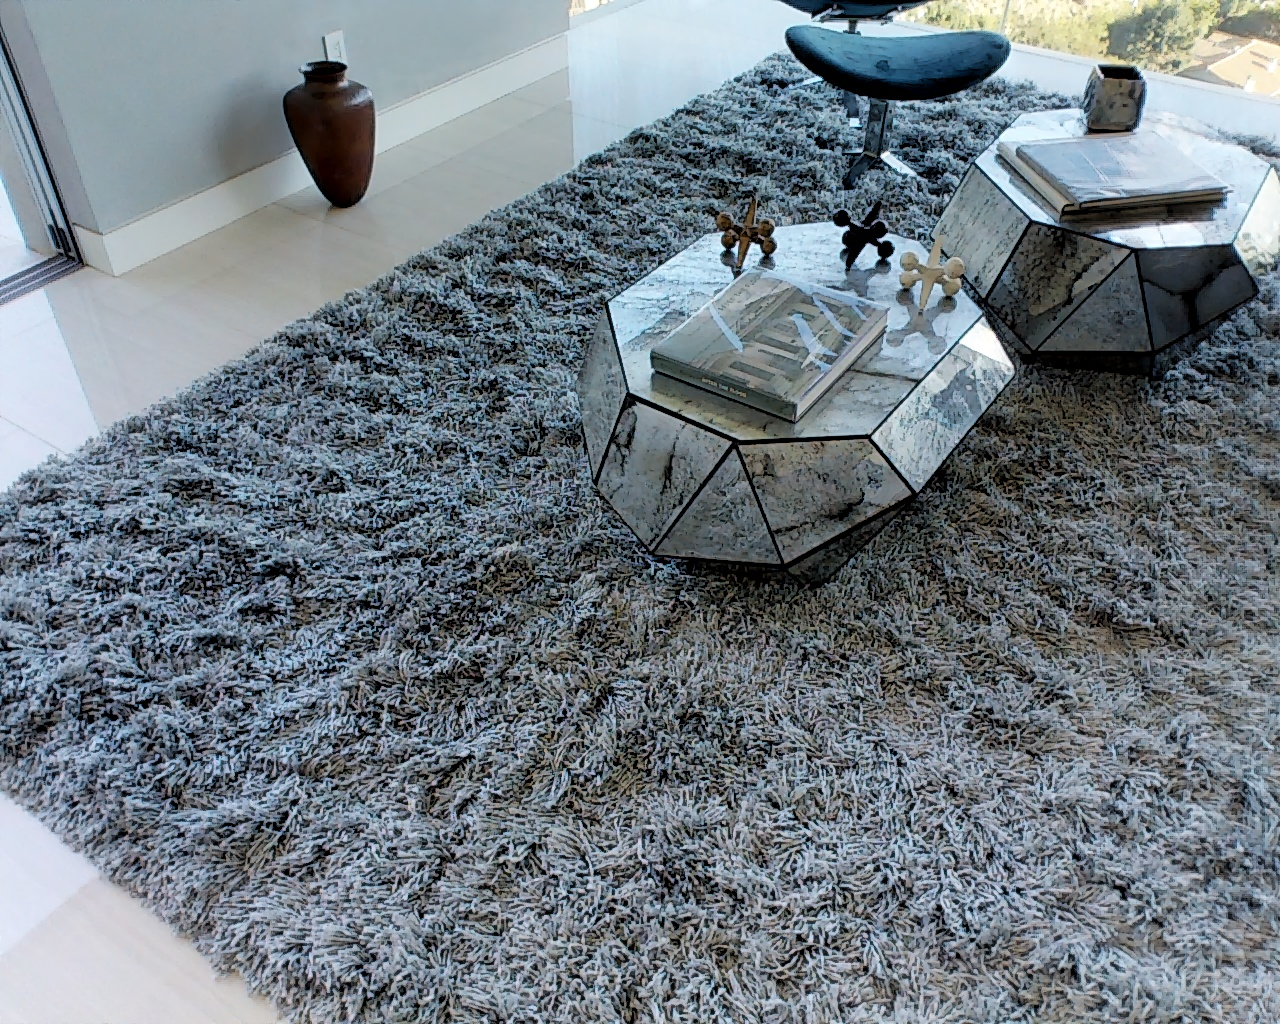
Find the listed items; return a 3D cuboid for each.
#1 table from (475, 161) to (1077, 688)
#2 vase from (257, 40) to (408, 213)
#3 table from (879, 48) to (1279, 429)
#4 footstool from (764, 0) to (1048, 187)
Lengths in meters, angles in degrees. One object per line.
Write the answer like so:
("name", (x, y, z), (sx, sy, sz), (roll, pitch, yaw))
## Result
("table", (0.310, -0.270, 2.300), (0.830, 0.430, 1.000), (24, 47, 24))
("vase", (-0.970, -1.230, 3.430), (0.300, 0.400, 0.270), (24, 47, 24))
("table", (1.240, -0.780, 2.840), (0.800, 0.440, 0.980), (24, 47, 24))
("footstool", (0.830, -1.400, 3.540), (0.770, 0.410, 0.570), (2, 42, 1))
